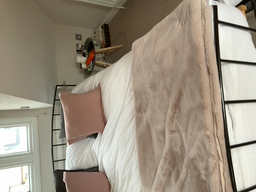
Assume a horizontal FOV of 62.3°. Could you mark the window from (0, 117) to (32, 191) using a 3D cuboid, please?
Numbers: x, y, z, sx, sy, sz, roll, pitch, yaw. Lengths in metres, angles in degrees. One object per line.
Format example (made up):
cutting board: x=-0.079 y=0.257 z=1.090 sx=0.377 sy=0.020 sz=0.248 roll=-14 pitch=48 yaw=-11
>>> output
window: x=-1.470 y=0.750 z=2.420 sx=0.090 sy=0.650 sz=0.960 roll=-16 pitch=77 yaw=59

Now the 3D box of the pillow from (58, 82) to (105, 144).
pillow: x=-0.440 y=0.160 z=2.060 sx=0.180 sy=0.420 sz=0.530 roll=-9 pitch=84 yaw=24
